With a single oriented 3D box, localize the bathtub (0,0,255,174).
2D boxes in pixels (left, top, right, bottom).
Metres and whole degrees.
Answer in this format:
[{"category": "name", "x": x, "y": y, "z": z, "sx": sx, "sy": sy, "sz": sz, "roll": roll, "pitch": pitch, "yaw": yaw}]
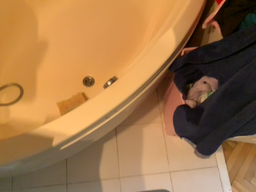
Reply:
[{"category": "bathtub", "x": -0.220, "y": -0.380, "z": 1.190, "sx": 1.410, "sy": 0.580, "sz": 1.450, "roll": -4, "pitch": 72, "yaw": -7}]
